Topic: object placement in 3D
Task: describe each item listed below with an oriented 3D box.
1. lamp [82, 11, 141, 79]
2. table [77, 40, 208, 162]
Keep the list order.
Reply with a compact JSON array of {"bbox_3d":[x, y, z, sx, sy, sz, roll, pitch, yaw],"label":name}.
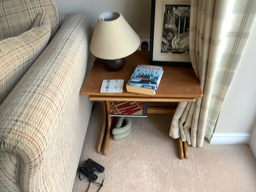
[{"bbox_3d":[-0.060,-0.260,1.060,0.240,0.240,0.260,1,38,4],"label":"lamp"},{"bbox_3d":[0.070,0.010,1.300,0.570,0.480,0.570,-2,38,1],"label":"table"}]
